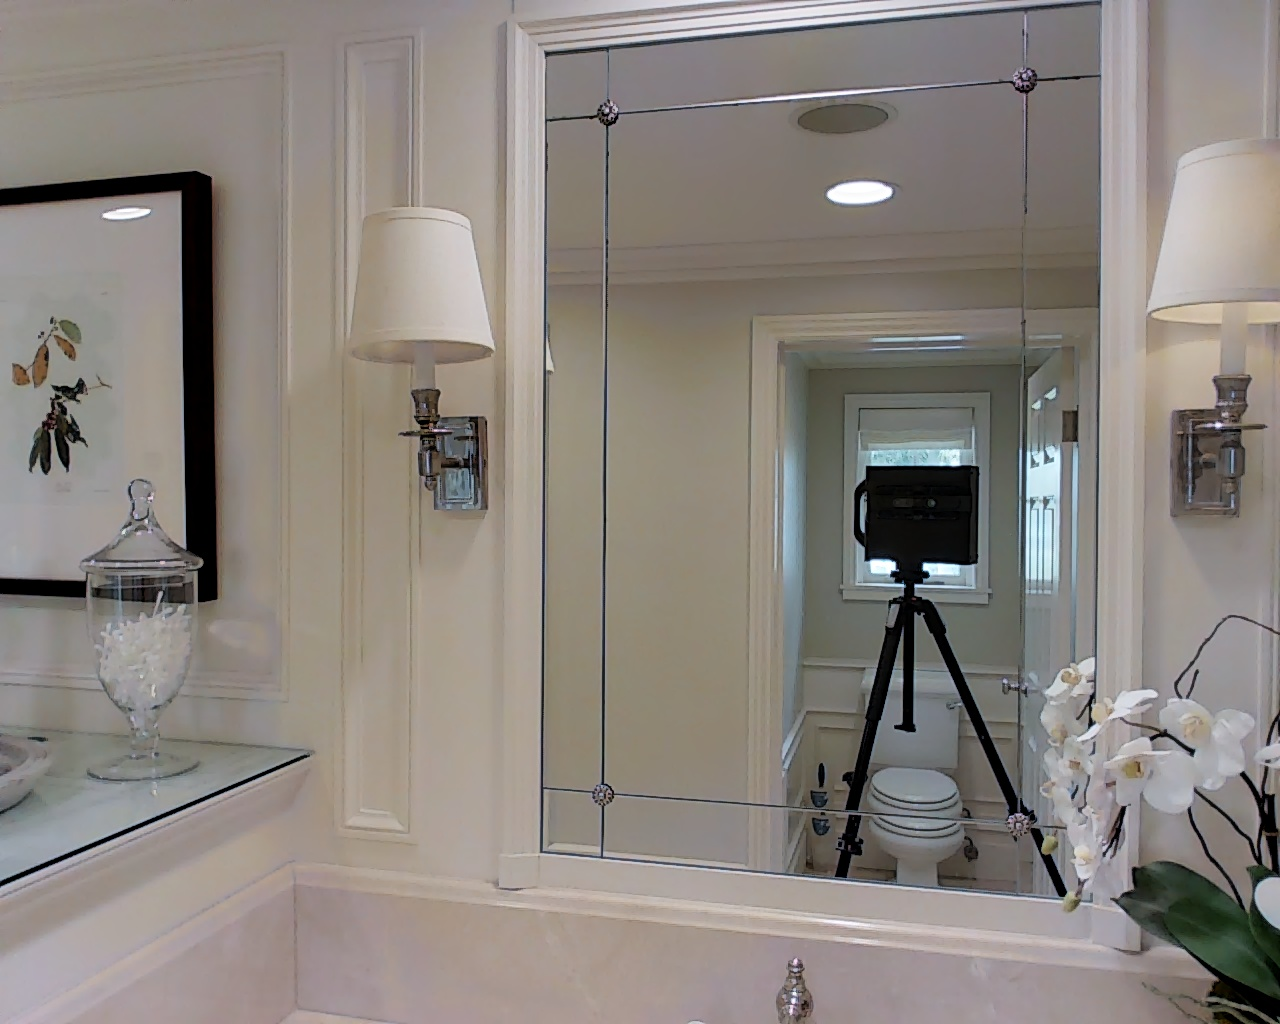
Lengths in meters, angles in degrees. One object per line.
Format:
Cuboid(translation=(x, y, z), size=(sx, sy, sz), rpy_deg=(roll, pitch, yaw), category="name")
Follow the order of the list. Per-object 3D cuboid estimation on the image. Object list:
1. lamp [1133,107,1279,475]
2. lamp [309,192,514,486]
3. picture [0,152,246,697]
Cuboid(translation=(0.540, -0.190, 0.980), size=(0.140, 0.310, 0.120), rpy_deg=(0, 1, 11), category="lamp")
Cuboid(translation=(-0.250, -0.180, 1.200), size=(0.180, 0.300, 0.140), rpy_deg=(0, 1, 14), category="lamp")
Cuboid(translation=(-0.760, -0.110, 1.430), size=(0.500, 0.680, 0.050), rpy_deg=(0, 1, 14), category="picture")
